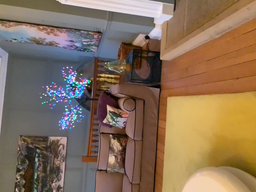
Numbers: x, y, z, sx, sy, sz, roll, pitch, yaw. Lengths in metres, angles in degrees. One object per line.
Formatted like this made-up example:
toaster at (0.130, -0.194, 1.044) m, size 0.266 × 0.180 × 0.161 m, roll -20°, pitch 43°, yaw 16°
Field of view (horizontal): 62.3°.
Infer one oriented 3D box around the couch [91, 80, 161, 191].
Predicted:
couch at (-0.120, 1.040, 3.570) m, size 1.130 × 0.800 × 2.420 m, roll 169°, pitch 106°, yaw -77°
